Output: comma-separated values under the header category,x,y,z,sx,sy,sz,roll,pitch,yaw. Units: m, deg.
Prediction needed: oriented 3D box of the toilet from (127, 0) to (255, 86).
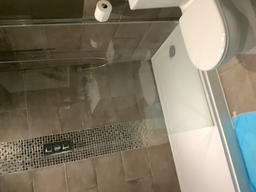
category,x,y,z,sx,sy,sz,roll,pitch,yaw
toilet,0.460,-0.480,1.340,0.370,0.780,0.670,136,125,-69
